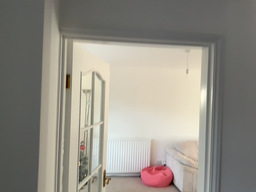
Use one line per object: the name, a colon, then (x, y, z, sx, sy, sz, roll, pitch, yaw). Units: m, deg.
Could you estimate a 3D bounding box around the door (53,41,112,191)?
door: (-0.300, 0.720, 1.530, 0.090, 2.040, 0.760, 2, 0, 11)
